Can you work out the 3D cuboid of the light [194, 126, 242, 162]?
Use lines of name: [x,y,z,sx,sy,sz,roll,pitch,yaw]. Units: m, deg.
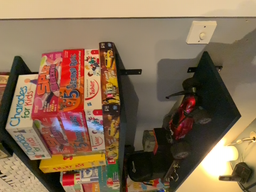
light: [0.640,0.350,1.540,0.240,0.200,0.160,97,169,-53]
